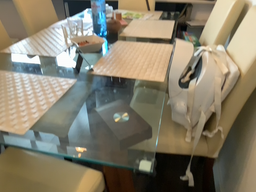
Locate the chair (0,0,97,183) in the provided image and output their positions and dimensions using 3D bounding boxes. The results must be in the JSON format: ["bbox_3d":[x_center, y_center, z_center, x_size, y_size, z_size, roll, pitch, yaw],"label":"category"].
[{"bbox_3d":[-0.580,-0.030,1.270,0.590,0.990,0.470,4,33,7],"label":"chair"}]

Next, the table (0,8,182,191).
[{"bbox_3d":[-0.160,-0.040,1.510,0.920,0.760,1.730,8,33,11],"label":"table"}]
